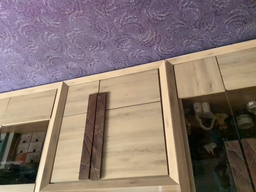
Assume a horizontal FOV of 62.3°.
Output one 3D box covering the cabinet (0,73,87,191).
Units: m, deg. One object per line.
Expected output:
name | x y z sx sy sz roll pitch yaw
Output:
cabinet | -0.950 0.600 1.780 0.910 1.440 0.490 -9 147 15
